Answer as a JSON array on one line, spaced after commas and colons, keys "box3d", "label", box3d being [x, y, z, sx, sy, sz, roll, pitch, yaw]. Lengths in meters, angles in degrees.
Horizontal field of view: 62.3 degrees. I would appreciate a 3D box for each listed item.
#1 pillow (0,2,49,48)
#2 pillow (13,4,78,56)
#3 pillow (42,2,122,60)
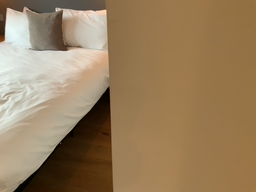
[{"box3d": [-1.200, -0.780, 2.340, 0.470, 0.400, 0.180, 13, 57, 17], "label": "pillow"}, {"box3d": [-0.800, -0.660, 2.130, 0.460, 0.420, 0.210, 8, 46, 14], "label": "pillow"}, {"box3d": [-0.460, -0.700, 2.270, 0.720, 0.470, 0.280, 9, 40, 15], "label": "pillow"}]
